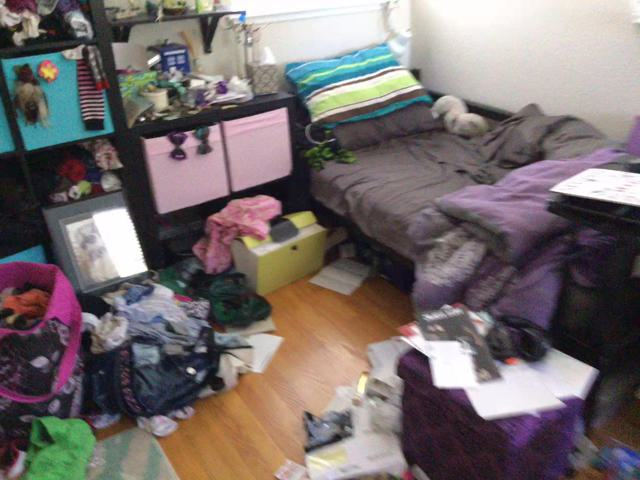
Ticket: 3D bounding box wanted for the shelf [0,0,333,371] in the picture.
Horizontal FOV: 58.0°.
[{"bbox_3d":[-1.220,-0.430,2.020,2.620,1.660,0.630,-17,28,-31],"label":"shelf"}]
